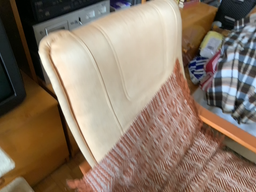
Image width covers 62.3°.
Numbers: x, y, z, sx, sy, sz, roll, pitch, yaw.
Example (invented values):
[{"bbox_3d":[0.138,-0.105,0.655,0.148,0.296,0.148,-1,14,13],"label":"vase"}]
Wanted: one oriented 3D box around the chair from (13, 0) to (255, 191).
[{"bbox_3d":[0.230,0.270,0.850,0.840,0.960,0.680,33,50,25],"label":"chair"}]
